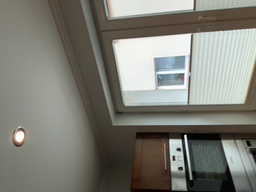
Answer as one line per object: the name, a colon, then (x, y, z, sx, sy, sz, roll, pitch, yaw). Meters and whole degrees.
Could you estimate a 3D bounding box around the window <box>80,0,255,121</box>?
window: (0.470, -0.390, 1.800, 0.160, 1.530, 1.460, -80, -15, -53)
